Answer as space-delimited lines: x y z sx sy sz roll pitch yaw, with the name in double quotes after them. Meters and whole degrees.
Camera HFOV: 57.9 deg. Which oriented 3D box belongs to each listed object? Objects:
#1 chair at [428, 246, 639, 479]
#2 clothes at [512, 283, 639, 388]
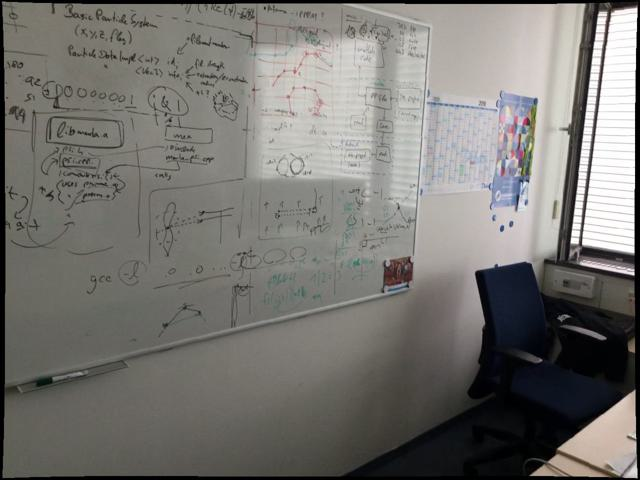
1.009 0.591 2.710 0.590 0.941 0.700 -7 16 -38 "chair"
1.459 0.490 3.170 0.620 0.300 0.510 -9 17 -43 "clothes"
